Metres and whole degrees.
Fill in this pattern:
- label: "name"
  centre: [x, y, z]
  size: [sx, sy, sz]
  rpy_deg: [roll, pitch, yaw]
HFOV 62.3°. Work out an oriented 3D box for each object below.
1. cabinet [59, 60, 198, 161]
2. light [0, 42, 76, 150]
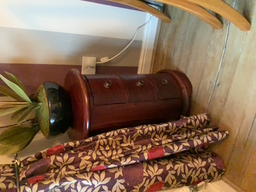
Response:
- label: "cabinet"
  centre: [-0.010, 0.030, 1.210]
  size: [0.380, 0.650, 0.380]
  rpy_deg: [33, 121, 53]
- label: "light"
  centre: [-0.580, -0.020, 0.930]
  size: [0.300, 0.610, 0.410]
  rpy_deg: [28, 117, 54]
